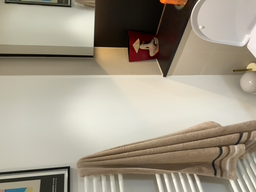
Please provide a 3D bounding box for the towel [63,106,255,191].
[{"bbox_3d":[0.350,0.270,1.130,0.220,1.310,0.350,104,160,-48],"label":"towel"}]
